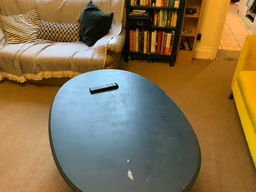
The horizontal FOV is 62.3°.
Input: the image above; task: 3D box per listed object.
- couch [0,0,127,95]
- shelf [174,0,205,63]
[{"bbox_3d":[-0.940,-0.720,2.500,1.720,0.820,1.030,5,37,5],"label":"couch"},{"bbox_3d":[0.770,-1.240,2.380,0.220,1.840,0.150,6,36,7],"label":"shelf"}]
